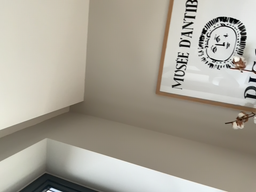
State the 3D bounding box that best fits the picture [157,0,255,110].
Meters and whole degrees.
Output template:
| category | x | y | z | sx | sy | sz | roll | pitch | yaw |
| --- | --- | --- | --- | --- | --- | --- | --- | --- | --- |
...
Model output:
| category | x | y | z | sx | sy | sz | roll | pitch | yaw |
| --- | --- | --- | --- | --- | --- | --- | --- | --- | --- |
| picture | 0.580 | -0.240 | 1.030 | 0.030 | 0.800 | 0.590 | -24 | -56 | -69 |
